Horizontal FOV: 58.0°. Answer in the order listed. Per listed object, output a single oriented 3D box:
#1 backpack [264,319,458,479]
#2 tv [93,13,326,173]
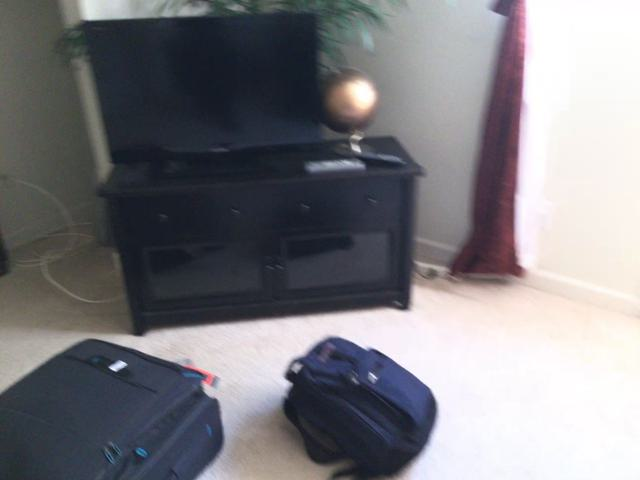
[{"bbox_3d":[0.120,0.470,1.690,0.440,0.260,0.330,13,26,36],"label":"backpack"},{"bbox_3d":[-0.360,-0.520,2.040,0.730,0.490,0.180,-4,19,-4],"label":"tv"}]
